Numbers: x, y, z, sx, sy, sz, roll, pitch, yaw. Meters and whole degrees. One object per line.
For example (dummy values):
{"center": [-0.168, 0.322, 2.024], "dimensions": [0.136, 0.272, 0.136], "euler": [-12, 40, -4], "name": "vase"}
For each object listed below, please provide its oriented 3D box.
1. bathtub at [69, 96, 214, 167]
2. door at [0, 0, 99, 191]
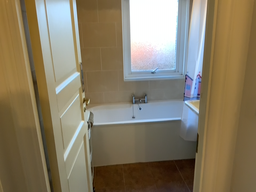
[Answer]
{"center": [0.150, 0.420, 2.890], "dimensions": [1.700, 0.550, 0.740], "euler": [-4, 17, -6], "name": "bathtub"}
{"center": [-0.370, 0.130, 1.300], "dimensions": [0.090, 2.160, 0.970], "euler": [-1, 17, 2], "name": "door"}
